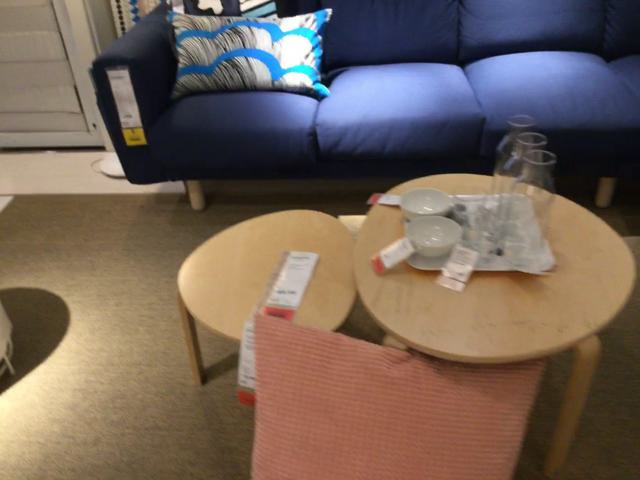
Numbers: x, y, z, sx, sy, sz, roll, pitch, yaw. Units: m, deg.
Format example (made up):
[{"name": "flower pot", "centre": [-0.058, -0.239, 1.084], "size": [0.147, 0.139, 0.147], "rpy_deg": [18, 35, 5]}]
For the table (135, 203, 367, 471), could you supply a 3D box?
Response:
[{"name": "table", "centre": [-0.120, 0.220, 1.550], "size": [0.470, 0.390, 0.600], "rpy_deg": [1, 33, 6]}]

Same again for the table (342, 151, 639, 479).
[{"name": "table", "centre": [0.430, 0.170, 1.480], "size": [0.690, 0.530, 0.740], "rpy_deg": [1, 33, 6]}]
